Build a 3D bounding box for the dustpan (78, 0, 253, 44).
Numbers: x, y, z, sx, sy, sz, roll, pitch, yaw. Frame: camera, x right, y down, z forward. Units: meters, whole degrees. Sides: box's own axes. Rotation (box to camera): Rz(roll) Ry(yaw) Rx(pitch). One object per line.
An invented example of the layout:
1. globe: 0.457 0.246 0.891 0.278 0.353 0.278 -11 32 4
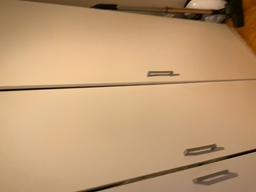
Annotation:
1. dustpan: 0.290 -0.610 1.490 0.350 1.200 0.320 167 99 -66
